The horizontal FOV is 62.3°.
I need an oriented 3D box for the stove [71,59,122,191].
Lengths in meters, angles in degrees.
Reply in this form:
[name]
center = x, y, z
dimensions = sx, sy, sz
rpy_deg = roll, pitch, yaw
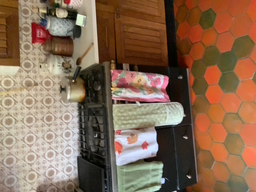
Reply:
[stove]
center = -0.280, 0.290, 1.680
dimensions = 0.680, 0.080, 1.020
rpy_deg = -7, 85, 57
